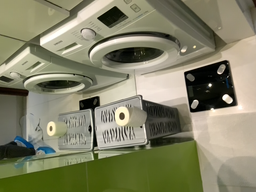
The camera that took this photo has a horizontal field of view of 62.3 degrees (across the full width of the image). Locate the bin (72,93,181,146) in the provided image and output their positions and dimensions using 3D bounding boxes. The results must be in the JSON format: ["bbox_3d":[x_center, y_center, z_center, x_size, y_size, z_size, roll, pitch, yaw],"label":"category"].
[{"bbox_3d":[0.000,0.170,1.410,0.490,0.520,0.250,-12,78,37],"label":"bin"}]
